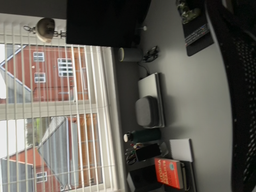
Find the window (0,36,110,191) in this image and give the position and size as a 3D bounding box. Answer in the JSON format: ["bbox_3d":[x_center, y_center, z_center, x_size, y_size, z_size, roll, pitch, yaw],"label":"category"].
[{"bbox_3d":[-0.680,0.120,1.370,0.070,1.050,1.040,155,110,-63],"label":"window"}]
